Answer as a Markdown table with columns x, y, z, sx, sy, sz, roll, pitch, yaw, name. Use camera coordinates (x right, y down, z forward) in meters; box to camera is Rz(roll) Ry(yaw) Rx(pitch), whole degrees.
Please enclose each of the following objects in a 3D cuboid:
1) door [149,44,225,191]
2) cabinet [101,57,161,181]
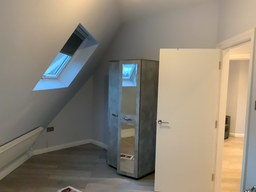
| x | y | z | sx | sy | sz | roll | pitch | yaw | name |
| --- | --- | --- | --- | --- | --- | --- | --- | --- | --- |
| 0.770 | 0.380 | 2.870 | 0.860 | 2.110 | 0.060 | 3 | 5 | 10 | door |
| 0.030 | 0.330 | 3.690 | 0.560 | 1.900 | 0.800 | -2 | 6 | -44 | cabinet |
